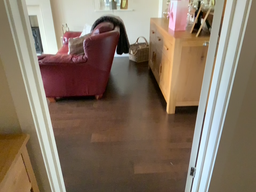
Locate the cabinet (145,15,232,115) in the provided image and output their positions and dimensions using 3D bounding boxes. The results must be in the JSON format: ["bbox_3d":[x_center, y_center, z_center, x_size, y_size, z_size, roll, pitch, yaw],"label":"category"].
[{"bbox_3d":[0.650,-0.550,2.920,0.560,0.870,1.610,-3,28,-4],"label":"cabinet"}]
